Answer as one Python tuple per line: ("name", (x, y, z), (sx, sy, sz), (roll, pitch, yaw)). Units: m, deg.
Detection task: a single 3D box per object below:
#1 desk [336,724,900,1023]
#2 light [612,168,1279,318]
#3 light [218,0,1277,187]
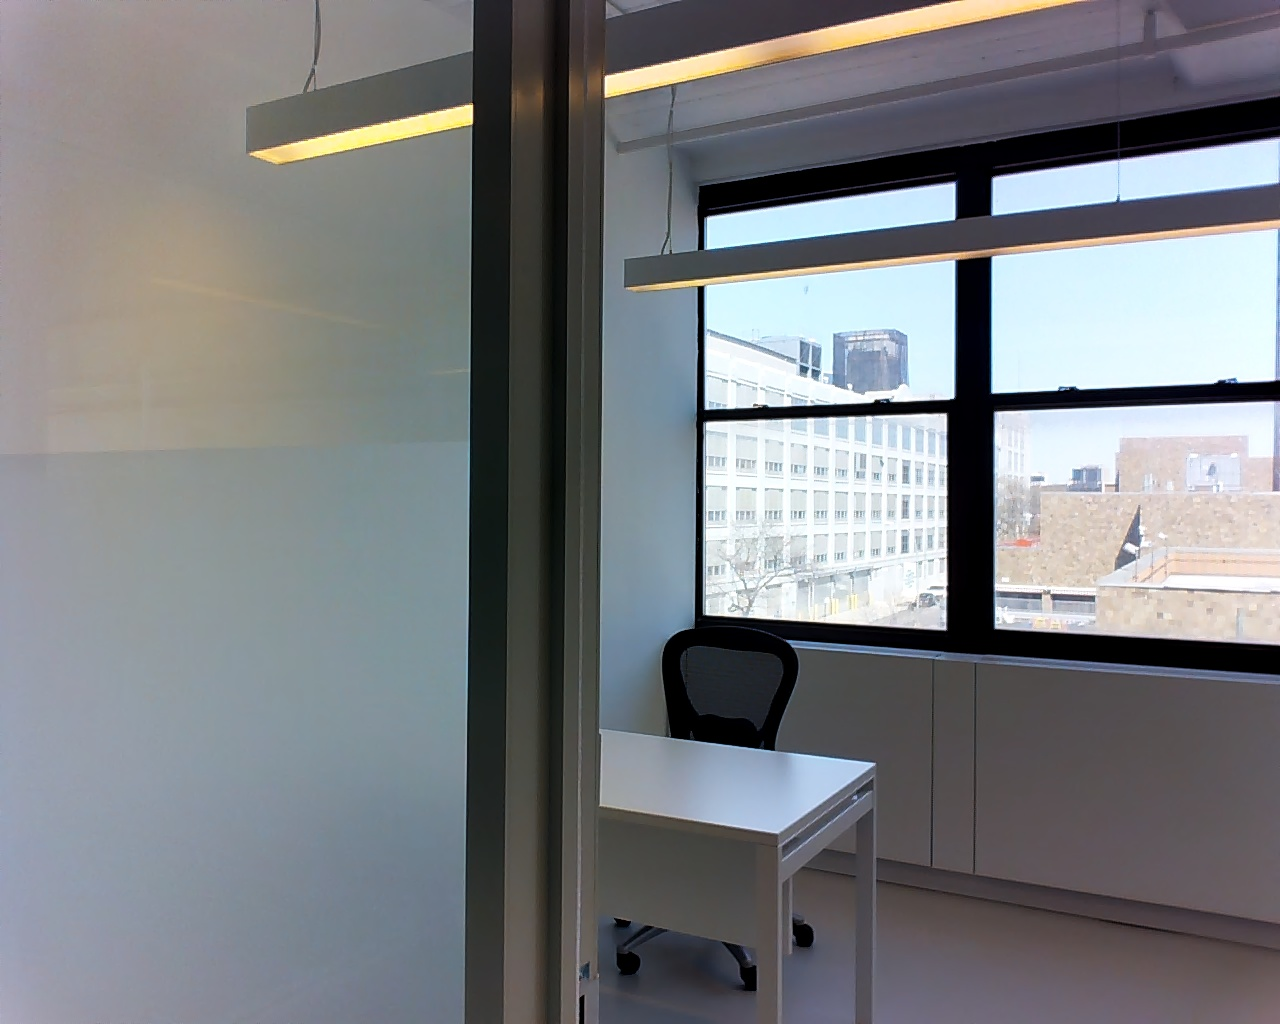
("desk", (-0.050, 1.090, 2.970), (1.330, 0.740, 0.810), (0, 0, 28))
("light", (1.020, -0.800, 3.250), (2.450, 0.210, 0.170), (1, 0, 29))
("light", (0.220, -0.850, 1.830), (2.500, 0.200, 0.190), (1, 0, 29))
